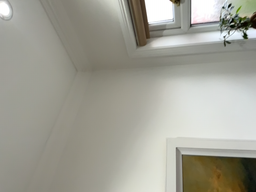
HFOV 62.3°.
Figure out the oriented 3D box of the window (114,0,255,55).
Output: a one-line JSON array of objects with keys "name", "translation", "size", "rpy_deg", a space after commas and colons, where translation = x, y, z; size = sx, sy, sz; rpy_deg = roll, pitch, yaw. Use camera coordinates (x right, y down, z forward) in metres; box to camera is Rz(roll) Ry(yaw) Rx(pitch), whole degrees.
[{"name": "window", "translation": [0.510, -0.560, 1.330], "size": [0.210, 1.130, 0.490], "rpy_deg": [-77, -20, -44]}]
